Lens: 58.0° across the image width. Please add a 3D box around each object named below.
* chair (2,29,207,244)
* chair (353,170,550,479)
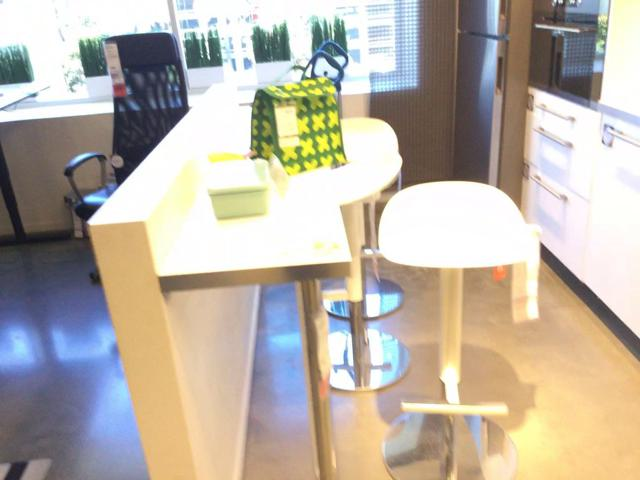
[{"bbox_3d":[-1.070,-0.560,3.060,0.670,0.960,0.520,-8,20,2],"label":"chair"},{"bbox_3d":[0.370,0.300,1.680,0.440,0.870,0.460,-6,20,6],"label":"chair"}]
